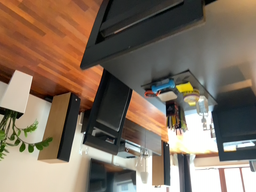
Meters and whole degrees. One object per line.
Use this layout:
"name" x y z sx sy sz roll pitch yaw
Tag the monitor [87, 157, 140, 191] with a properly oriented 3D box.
"monitor" -0.190 1.600 3.810 0.090 0.710 1.370 -15 147 32
